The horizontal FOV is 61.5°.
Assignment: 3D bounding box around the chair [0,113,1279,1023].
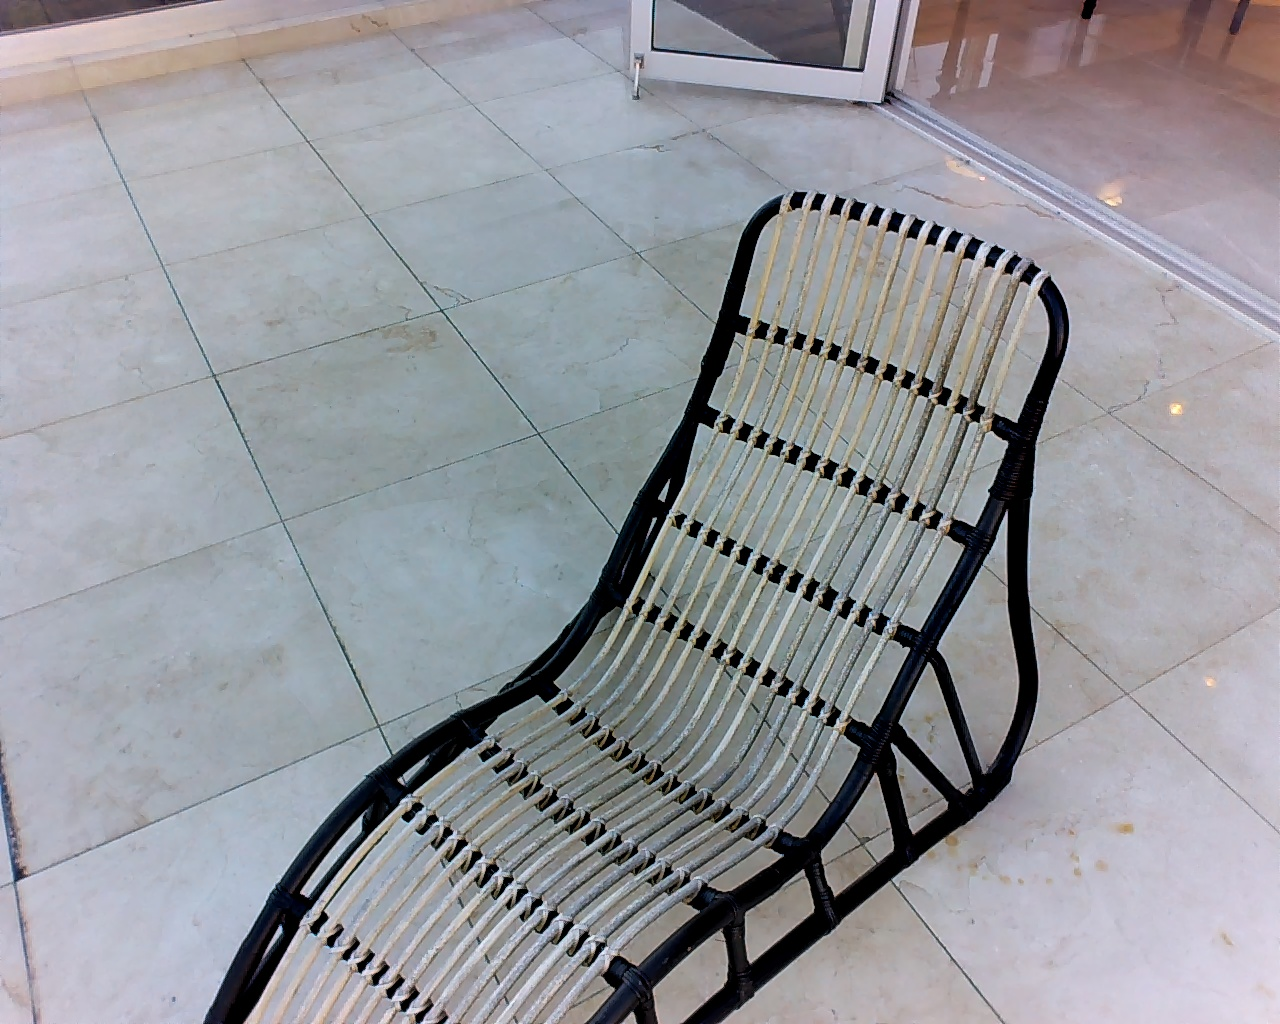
[{"bbox_3d":[-0.030,0.290,1.390,0.910,0.920,1.520,28,49,27],"label":"chair"}]
